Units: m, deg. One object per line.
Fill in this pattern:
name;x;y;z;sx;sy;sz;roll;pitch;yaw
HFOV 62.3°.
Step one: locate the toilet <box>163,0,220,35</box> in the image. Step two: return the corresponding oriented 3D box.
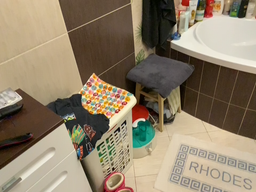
toilet;0.550;-0.750;1.770;0.210;0.230;0.600;25;49;33
